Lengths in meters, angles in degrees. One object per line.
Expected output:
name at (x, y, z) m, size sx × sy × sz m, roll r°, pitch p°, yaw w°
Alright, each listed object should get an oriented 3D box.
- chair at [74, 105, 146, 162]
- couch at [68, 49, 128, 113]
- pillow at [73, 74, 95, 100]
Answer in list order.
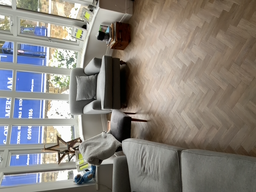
chair at (-0.270, 0.490, 2.950) m, size 0.500 × 0.810 × 0.610 m, roll -158°, pitch 74°, yaw -64°
couch at (-0.590, -0.180, 3.880) m, size 1.140 × 0.780 × 0.900 m, roll 162°, pitch 110°, yaw -64°
pillow at (-0.810, -0.160, 3.940) m, size 0.140 × 0.380 × 0.450 m, roll 122°, pitch 149°, yaw -81°
